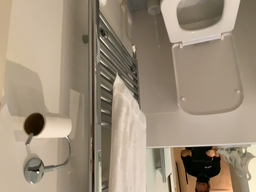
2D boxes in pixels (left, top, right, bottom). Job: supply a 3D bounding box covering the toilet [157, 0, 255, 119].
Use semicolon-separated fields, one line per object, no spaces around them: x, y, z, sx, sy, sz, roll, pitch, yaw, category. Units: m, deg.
0.380;-0.360;1.110;0.370;0.860;0.670;-6;165;15;toilet
